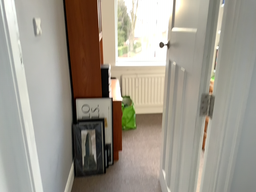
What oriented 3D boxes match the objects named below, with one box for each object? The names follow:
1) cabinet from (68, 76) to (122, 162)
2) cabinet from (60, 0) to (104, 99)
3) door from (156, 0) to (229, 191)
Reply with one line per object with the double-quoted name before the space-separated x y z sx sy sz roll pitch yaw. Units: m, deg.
"cabinet" -0.340 0.210 2.480 0.490 0.680 0.870 -1 19 -4
"cabinet" -0.430 -0.720 2.160 0.290 1.280 0.860 -1 19 -4
"door" 0.300 -0.050 1.260 0.040 1.970 0.860 -1 19 -2
